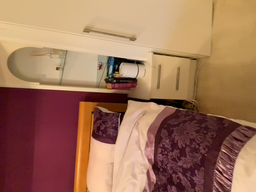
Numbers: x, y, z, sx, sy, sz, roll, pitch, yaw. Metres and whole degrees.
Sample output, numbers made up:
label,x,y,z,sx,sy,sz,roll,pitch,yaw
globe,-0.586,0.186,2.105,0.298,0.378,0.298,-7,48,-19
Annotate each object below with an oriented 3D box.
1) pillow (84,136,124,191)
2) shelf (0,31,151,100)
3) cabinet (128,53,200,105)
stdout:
label,x,y,z,sx,sy,sz,roll,pitch,yaw
pillow,-0.200,0.600,1.630,0.380,0.160,0.500,-173,87,-65
shelf,-0.400,-0.190,1.630,0.390,1.080,0.360,-172,85,-65
cabinet,0.320,-0.140,1.970,0.400,0.500,0.400,-172,85,-65
